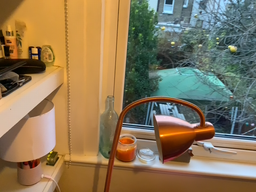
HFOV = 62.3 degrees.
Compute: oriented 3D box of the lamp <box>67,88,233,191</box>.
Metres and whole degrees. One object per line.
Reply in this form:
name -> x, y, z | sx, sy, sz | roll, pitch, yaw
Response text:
lamp -> 0.020, 0.530, 0.900 | 0.470, 1.080, 0.210 | 5, 22, 0
